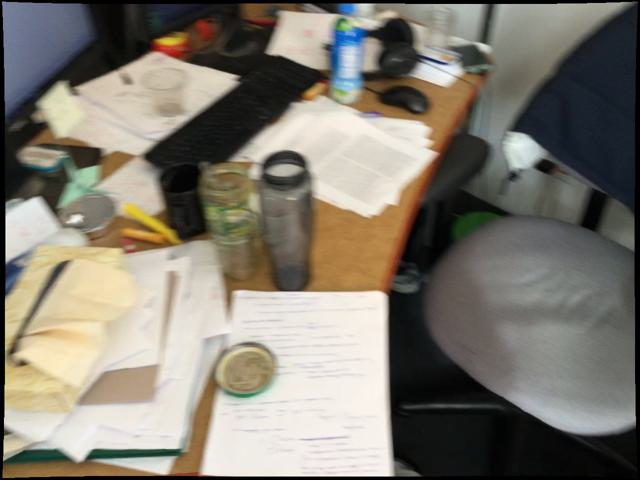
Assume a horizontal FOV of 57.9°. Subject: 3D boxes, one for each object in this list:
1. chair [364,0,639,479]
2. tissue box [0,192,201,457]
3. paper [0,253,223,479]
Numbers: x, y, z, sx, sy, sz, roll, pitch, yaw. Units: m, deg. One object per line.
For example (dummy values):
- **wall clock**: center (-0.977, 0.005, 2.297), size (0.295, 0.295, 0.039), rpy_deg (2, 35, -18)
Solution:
- **chair**: center (0.549, 0.100, 1.210), size (0.590, 1.000, 0.630), rpy_deg (35, 55, 30)
- **tissue box**: center (-0.350, 0.090, 0.770), size (0.250, 0.090, 0.270), rpy_deg (35, 55, 30)
- **paper**: center (-0.390, 0.160, 0.750), size (0.470, 0.090, 0.300), rpy_deg (2, 45, 2)
